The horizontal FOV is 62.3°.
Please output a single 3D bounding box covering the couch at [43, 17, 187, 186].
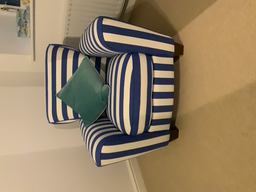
[{"bbox_3d":[-0.200,-0.020,1.710,0.930,0.840,0.900,-162,72,-63],"label":"couch"}]
